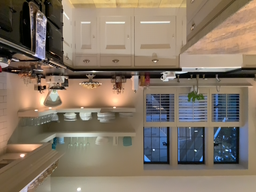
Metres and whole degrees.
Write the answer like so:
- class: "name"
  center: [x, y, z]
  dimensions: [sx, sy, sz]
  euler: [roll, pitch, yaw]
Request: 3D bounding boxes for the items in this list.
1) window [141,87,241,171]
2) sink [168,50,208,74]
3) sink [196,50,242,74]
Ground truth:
- class: "window"
  center: [1.190, 0.620, 4.010]
  dimensions: [1.860, 1.560, 0.100]
  euler: [0, -179, -1]
- class: "sink"
  center: [0.900, -0.510, 3.270]
  dimensions: [0.460, 0.280, 0.580]
  euler: [0, -179, 0]
- class: "sink"
  center: [1.370, -0.510, 3.270]
  dimensions: [0.470, 0.280, 0.580]
  euler: [0, -179, 0]
